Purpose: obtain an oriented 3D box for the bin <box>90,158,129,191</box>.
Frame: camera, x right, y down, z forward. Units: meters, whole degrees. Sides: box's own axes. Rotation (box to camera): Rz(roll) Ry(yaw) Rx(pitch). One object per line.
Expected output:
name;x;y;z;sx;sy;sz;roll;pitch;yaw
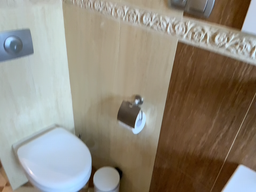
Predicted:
bin;-0.130;0.620;1.460;0.180;0.280;0.180;30;41;32
